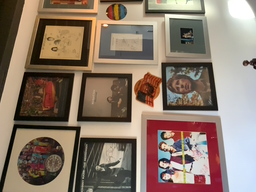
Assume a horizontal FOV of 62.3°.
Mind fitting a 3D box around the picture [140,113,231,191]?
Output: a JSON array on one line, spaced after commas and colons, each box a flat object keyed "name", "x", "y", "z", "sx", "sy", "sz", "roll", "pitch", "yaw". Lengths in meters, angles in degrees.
[{"name": "picture", "x": 0.340, "y": 0.360, "z": 1.310, "sx": 0.030, "sy": 0.520, "sz": 0.510, "roll": 90, "pitch": 180, "yaw": -71}]

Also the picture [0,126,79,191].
[{"name": "picture", "x": -0.540, "y": 0.400, "z": 1.310, "sx": 0.030, "sy": 0.430, "sz": 0.420, "roll": 90, "pitch": 180, "yaw": -72}]
